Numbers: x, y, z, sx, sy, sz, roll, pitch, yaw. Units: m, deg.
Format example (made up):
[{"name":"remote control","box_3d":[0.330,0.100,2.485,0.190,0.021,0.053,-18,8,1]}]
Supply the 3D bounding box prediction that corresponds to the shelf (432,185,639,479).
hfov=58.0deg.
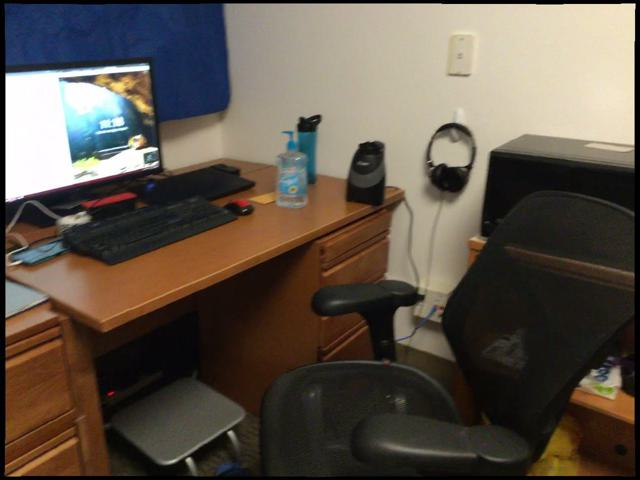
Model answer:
[{"name":"shelf","box_3d":[0.878,0.381,1.640,0.959,0.862,0.360,15,24,33]}]
